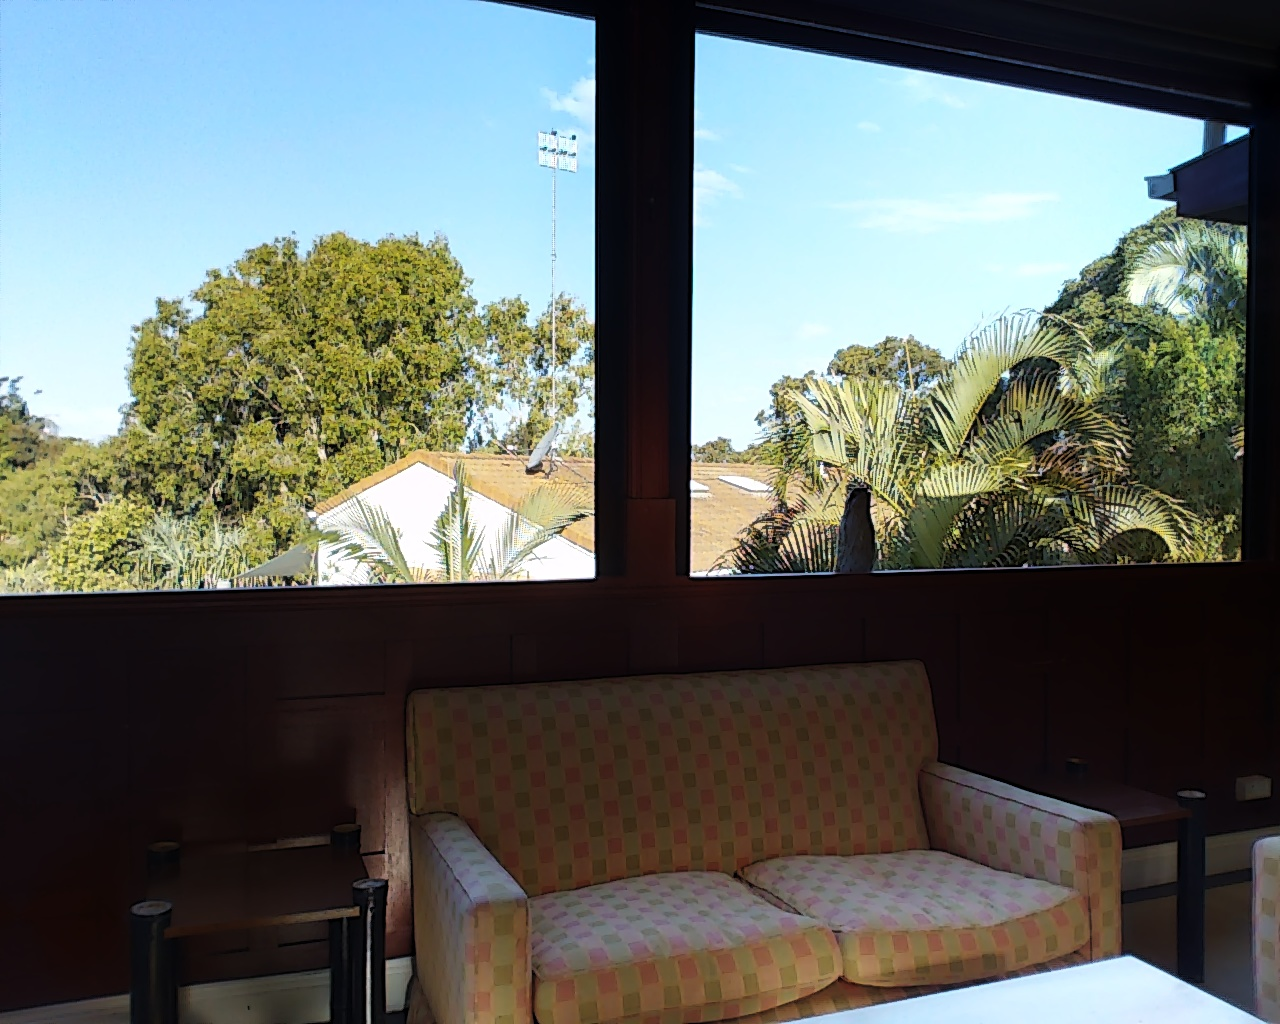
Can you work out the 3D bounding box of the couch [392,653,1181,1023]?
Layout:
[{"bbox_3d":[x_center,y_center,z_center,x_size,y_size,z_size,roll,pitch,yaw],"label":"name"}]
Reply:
[{"bbox_3d":[0.290,0.850,2.550,1.600,0.830,0.930,0,1,-20],"label":"couch"}]

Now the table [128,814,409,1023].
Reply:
[{"bbox_3d":[-0.810,1.010,2.360,0.520,0.500,0.530,0,1,-20],"label":"table"}]
